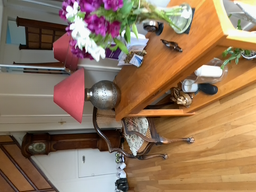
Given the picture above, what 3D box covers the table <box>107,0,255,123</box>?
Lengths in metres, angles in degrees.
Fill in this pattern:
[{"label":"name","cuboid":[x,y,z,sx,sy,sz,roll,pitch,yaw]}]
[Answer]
[{"label":"table","cuboid":[0.410,-0.170,1.440,1.200,0.750,0.400,136,131,-59]}]
